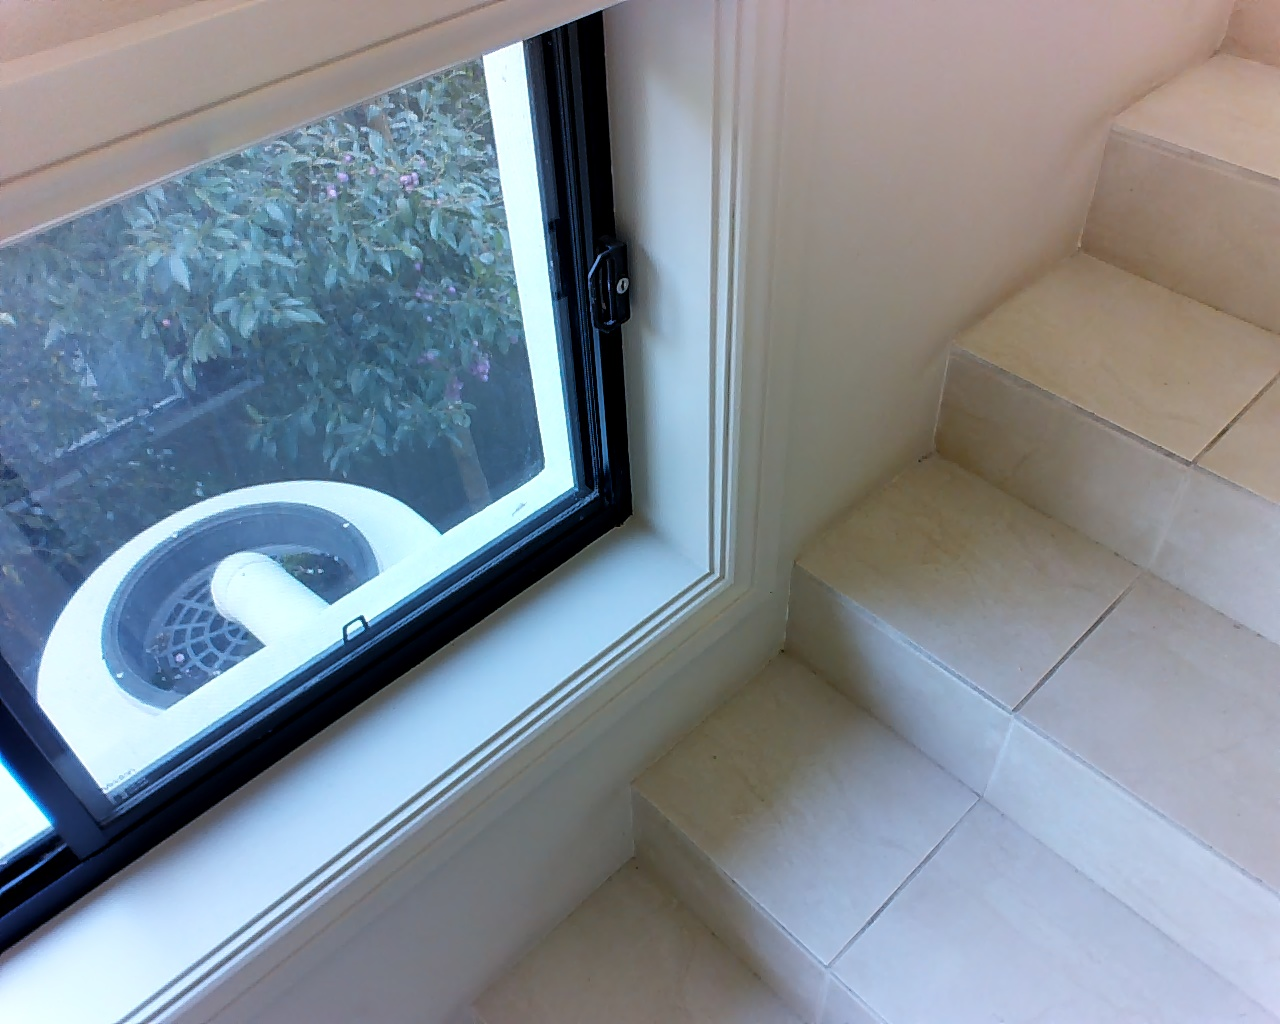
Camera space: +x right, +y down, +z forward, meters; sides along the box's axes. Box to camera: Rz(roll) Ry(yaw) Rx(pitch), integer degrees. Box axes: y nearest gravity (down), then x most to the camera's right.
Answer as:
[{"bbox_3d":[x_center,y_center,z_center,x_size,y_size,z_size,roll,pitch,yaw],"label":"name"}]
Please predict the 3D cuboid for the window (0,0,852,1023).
[{"bbox_3d":[-0.920,0.390,0.440,2.600,0.850,0.440,-36,53,-28],"label":"window"}]
